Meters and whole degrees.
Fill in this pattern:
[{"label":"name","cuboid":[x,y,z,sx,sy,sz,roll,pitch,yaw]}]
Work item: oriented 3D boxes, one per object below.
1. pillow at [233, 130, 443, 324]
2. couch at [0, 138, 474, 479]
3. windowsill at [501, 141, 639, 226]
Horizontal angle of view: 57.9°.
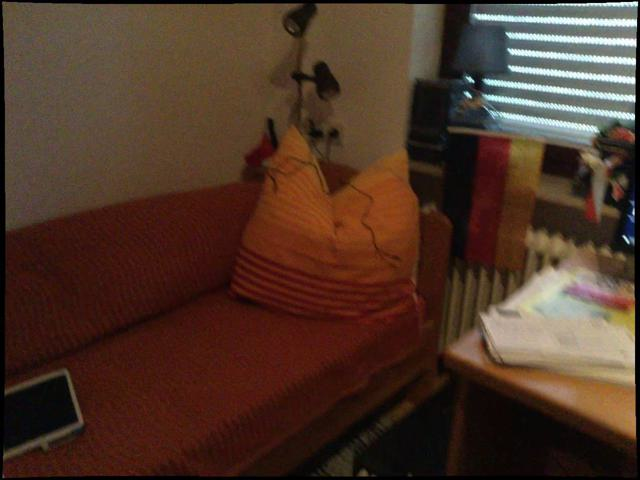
[{"label":"pillow","cuboid":[0.060,-0.080,1.890,0.500,0.440,0.430,16,27,37]},{"label":"couch","cuboid":[-0.589,0.360,1.560,1.029,0.801,2.179,16,27,37]},{"label":"windowsill","cuboid":[0.969,-0.150,1.690,0.780,0.140,0.290,16,27,37]}]
